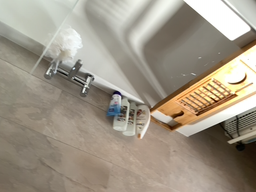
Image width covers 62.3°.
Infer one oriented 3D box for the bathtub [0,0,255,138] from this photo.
[{"bbox_3d":[-0.040,-0.480,1.010,1.680,0.550,0.700,30,138,-21],"label":"bathtub"}]
